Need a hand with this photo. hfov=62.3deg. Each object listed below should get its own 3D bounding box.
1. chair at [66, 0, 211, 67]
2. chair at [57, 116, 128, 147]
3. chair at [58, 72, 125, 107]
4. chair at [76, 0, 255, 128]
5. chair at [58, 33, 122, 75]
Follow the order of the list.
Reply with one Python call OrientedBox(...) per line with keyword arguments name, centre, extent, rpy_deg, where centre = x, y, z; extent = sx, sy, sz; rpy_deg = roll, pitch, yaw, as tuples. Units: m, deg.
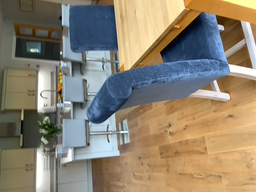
OrientedBox(name="chair", centre=(0.060, -0.640, 1.880), extent=(0.560, 1.110, 0.480), rpy_deg=(142, 126, -60))
OrientedBox(name="chair", centre=(-0.570, 0.560, 3.350), extent=(0.500, 1.000, 0.400), rpy_deg=(147, 122, -62))
OrientedBox(name="chair", centre=(-0.610, -0.080, 3.500), extent=(0.510, 0.980, 0.400), rpy_deg=(147, 122, -62))
OrientedBox(name="chair", centre=(0.290, -0.210, 1.320), extent=(0.490, 1.110, 0.690), rpy_deg=(140, 128, -60))
OrientedBox(name="chair", centre=(-0.670, -0.700, 3.680), extent=(0.490, 0.980, 0.410), rpy_deg=(137, 131, -58))
